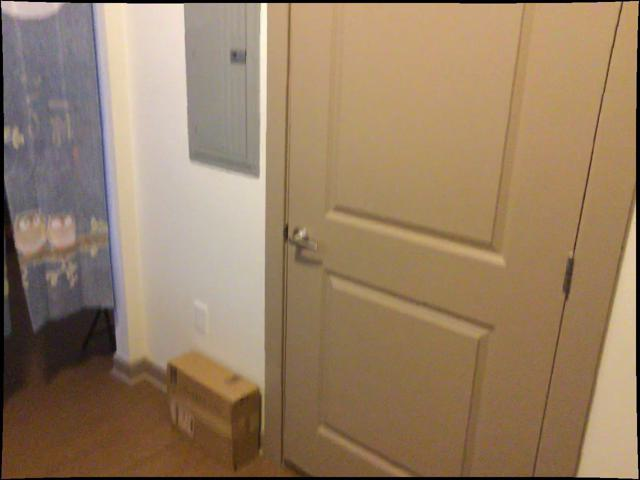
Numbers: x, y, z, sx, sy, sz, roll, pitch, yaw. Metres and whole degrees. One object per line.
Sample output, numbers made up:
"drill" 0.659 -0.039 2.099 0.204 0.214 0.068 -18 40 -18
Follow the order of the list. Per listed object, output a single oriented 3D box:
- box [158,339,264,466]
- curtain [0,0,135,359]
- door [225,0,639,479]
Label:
"box" -0.429 0.621 2.260 0.419 0.291 0.170 18 26 37
"curtain" -1.167 -0.381 2.080 0.180 1.653 0.859 18 26 37
"door" 0.229 -0.070 1.600 1.278 2.175 0.150 18 26 37
